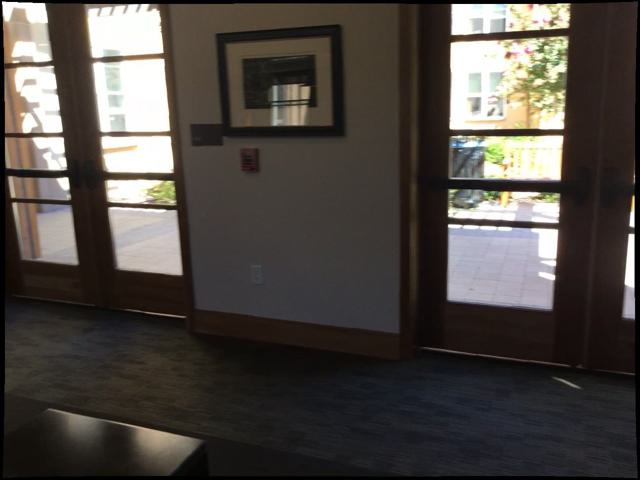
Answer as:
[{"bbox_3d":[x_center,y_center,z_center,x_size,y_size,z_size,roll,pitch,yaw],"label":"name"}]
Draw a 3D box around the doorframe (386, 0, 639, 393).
[{"bbox_3d":[1.289,-0.240,2.720,1.918,1.852,0.330,4,16,24],"label":"doorframe"}]
